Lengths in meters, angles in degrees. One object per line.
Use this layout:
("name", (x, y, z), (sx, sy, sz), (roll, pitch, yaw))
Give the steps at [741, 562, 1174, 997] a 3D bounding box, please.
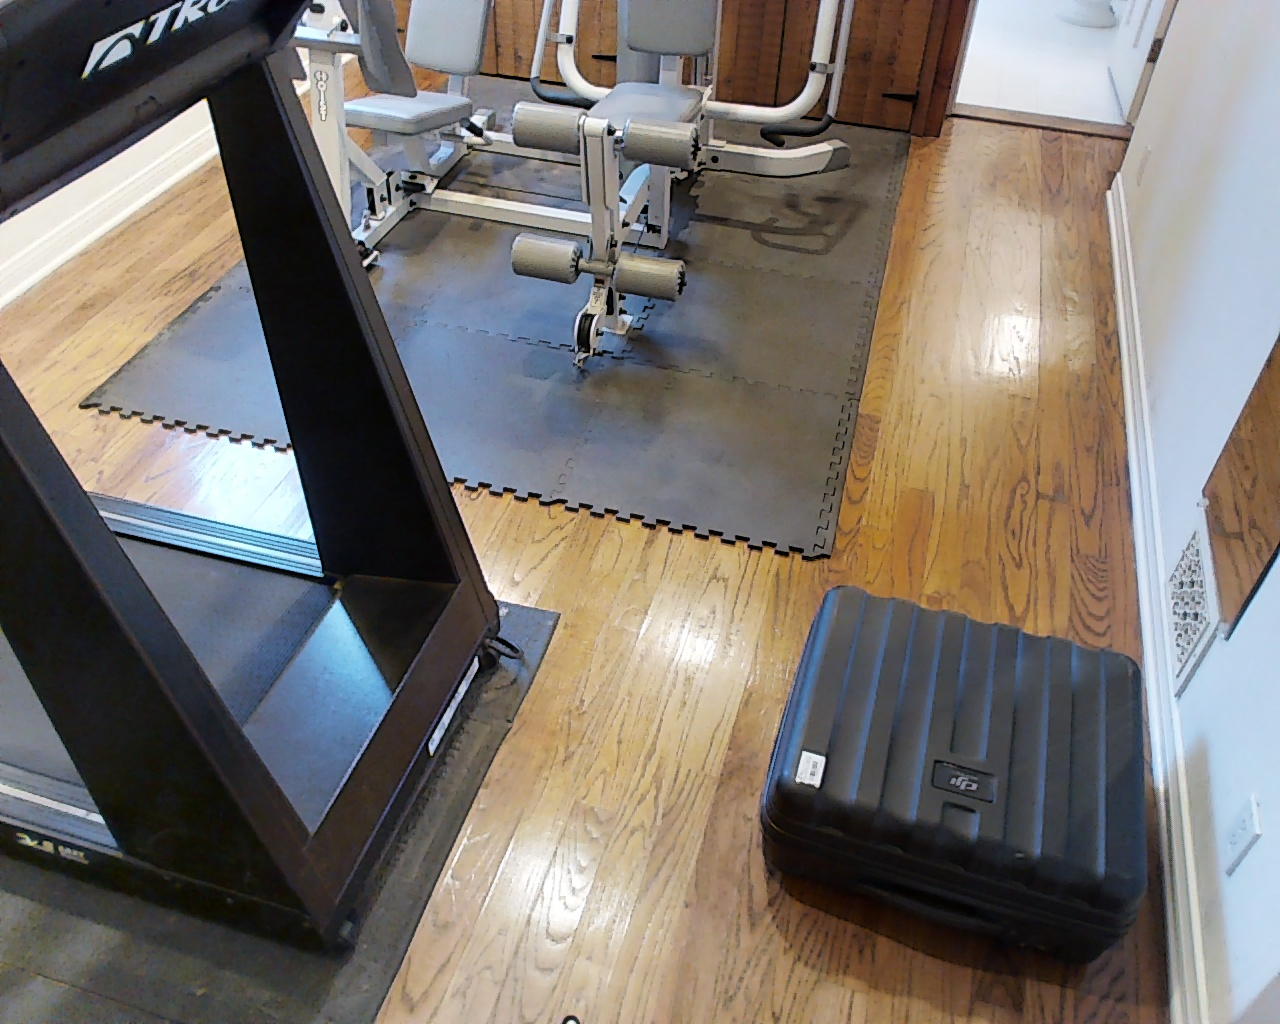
("steps", (0.530, 0.420, 1.820), (0.590, 0.260, 0.530), (13, 43, 12))
